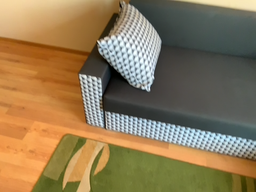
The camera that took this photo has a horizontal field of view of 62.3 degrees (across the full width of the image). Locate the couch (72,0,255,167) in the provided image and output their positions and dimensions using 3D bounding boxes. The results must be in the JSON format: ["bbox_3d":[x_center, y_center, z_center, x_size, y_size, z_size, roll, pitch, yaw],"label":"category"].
[{"bbox_3d":[0.840,-0.120,1.630,2.160,0.750,0.970,11,46,8],"label":"couch"}]

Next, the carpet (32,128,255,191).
[{"bbox_3d":[0.160,0.690,1.340,1.530,0.050,0.750,12,47,9],"label":"carpet"}]

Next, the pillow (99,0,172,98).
[{"bbox_3d":[0.080,-0.380,1.550,0.330,0.340,0.690,12,47,10],"label":"pillow"}]
